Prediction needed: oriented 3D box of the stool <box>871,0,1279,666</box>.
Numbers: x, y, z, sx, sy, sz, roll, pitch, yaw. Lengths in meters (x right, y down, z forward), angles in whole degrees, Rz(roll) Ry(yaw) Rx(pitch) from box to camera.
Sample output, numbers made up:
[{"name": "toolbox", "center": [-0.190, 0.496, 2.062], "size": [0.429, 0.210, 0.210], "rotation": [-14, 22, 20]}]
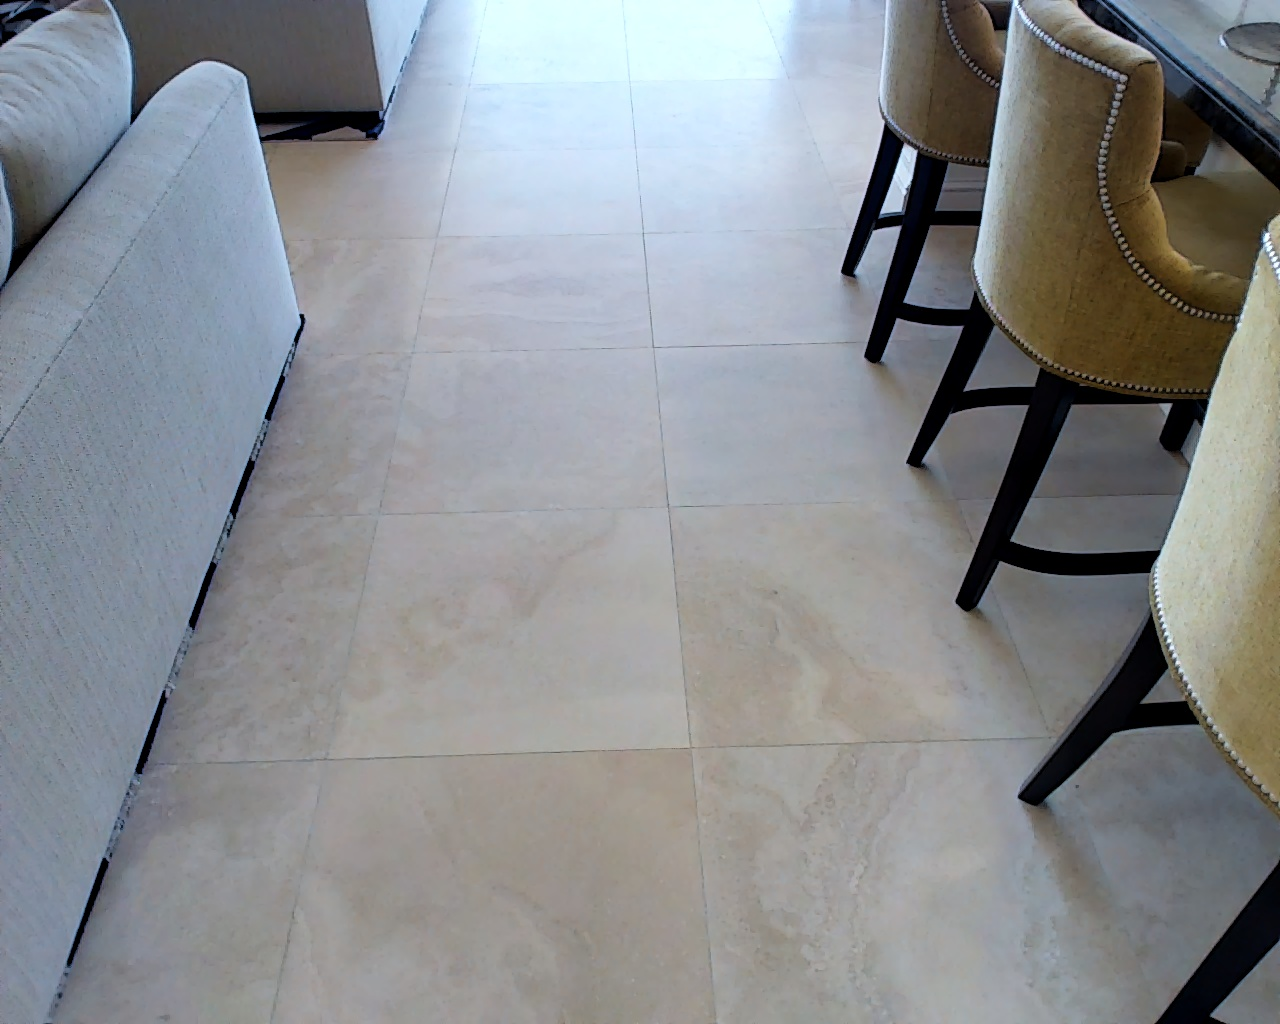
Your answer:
[{"name": "stool", "center": [0.920, -0.360, 1.860], "size": [0.760, 1.050, 0.700], "rotation": [-2, 41, -2]}]

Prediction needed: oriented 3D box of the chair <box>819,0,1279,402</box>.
[{"name": "chair", "center": [0.880, -0.900, 2.490], "size": [0.720, 1.070, 0.680], "rotation": [-1, 41, -1]}]
